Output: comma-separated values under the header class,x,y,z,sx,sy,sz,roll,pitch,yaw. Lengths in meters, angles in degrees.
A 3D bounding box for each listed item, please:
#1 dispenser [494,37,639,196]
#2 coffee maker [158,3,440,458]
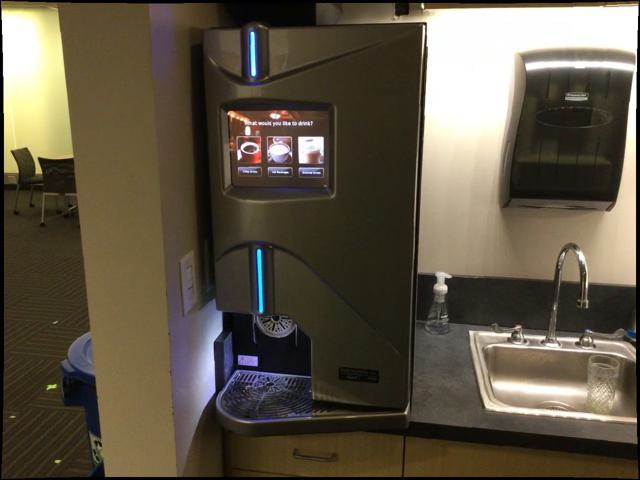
class,x,y,z,sx,sy,sz,roll,pitch,yaw
dispenser,0.678,-0.341,1.610,0.329,0.411,0.150,1,17,9
coffee maker,-0.010,-0.010,1.210,0.479,0.862,0.260,1,17,9
